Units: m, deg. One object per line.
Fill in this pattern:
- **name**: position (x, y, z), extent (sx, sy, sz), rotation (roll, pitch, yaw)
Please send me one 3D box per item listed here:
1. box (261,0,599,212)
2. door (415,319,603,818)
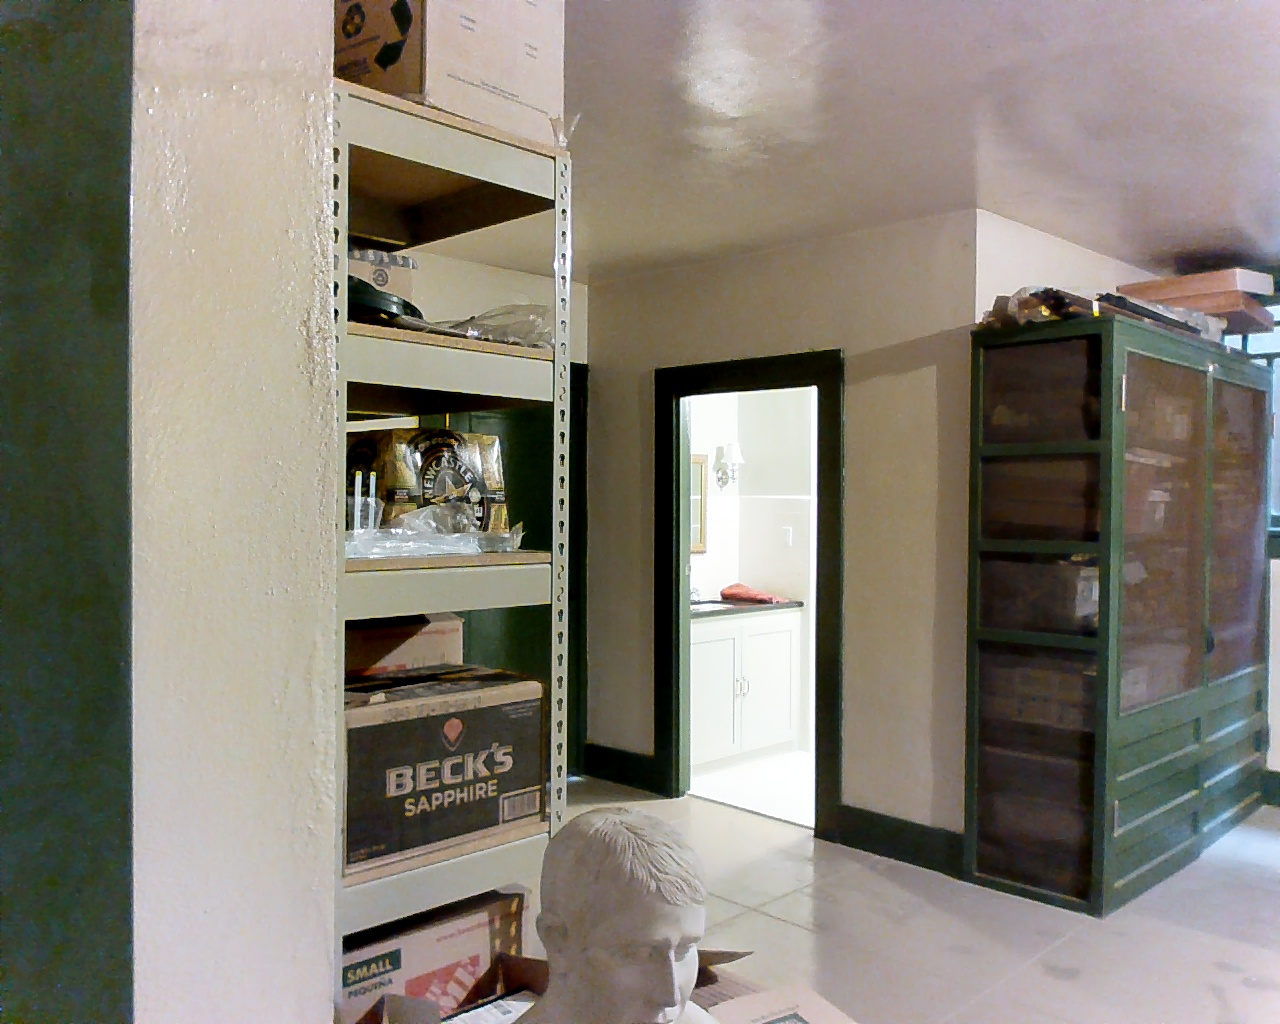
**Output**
- **box**: position (-0.350, -0.790, 1.810), extent (0.370, 0.420, 0.420), rotation (1, 1, 45)
- **door**: position (-0.650, 0.270, 5.600), extent (0.100, 2.390, 1.140), rotation (1, 1, 45)
